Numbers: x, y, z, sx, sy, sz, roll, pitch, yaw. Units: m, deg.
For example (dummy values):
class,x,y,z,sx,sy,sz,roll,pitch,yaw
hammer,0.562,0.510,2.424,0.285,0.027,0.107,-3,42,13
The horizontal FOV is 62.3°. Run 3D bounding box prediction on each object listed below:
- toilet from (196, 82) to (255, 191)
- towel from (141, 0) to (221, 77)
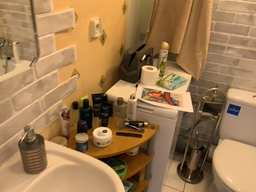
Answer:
class,x,y,z,sx,sy,sz,roll,pitch,yaw
toilet,0.750,0.420,1.440,0.370,0.780,0.640,15,31,17
towel,0.360,-0.580,1.360,0.410,0.810,0.250,14,31,15
